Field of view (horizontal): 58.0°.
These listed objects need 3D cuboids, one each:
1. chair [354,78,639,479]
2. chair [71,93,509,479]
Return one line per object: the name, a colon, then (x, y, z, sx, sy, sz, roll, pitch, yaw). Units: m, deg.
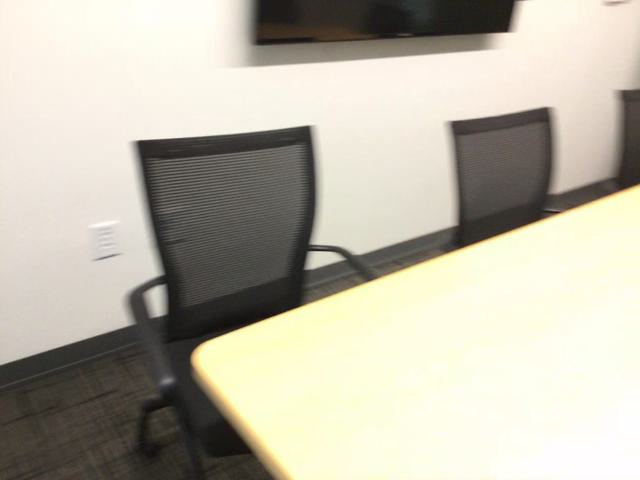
chair: (0.600, 0.150, 1.590, 0.650, 0.980, 0.730, -15, 32, -30)
chair: (-0.120, 0.240, 1.360, 0.580, 0.960, 0.720, -15, 32, -30)
